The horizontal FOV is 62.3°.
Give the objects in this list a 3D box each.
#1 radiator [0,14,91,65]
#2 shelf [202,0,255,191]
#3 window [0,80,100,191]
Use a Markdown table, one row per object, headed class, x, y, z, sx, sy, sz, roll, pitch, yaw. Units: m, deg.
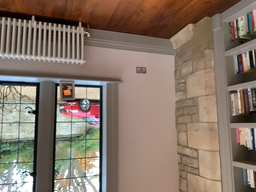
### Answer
| class | x | y | z | sx | sy | sz | roll | pitch | yaw |
| --- | --- | --- | --- | --- | --- | --- | --- | --- | --- |
| radiator | -1.260 | -0.610 | 2.210 | 1.710 | 0.410 | 0.170 | 2 | 173 | -19 |
| shelf | 1.230 | 0.120 | 1.850 | 0.440 | 2.160 | 1.050 | 2 | 173 | -20 |
| window | -1.380 | 0.530 | 2.450 | 2.120 | 1.430 | 0.110 | 2 | 173 | -19 |
